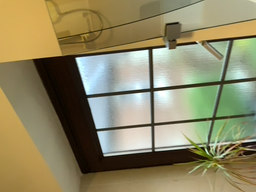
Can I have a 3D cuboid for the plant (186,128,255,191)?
[{"bbox_3d":[0.550,0.290,0.980,0.170,0.500,0.210,-94,-2,-54],"label":"plant"}]
